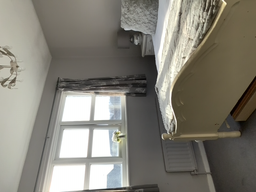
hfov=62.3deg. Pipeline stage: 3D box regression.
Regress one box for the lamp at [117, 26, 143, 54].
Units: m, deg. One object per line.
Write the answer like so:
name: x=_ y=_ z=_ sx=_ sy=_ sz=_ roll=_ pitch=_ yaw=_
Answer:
lamp: x=0.020 y=-0.890 z=3.390 sx=0.310 sy=0.400 sz=0.300 roll=93 pitch=176 yaw=-56

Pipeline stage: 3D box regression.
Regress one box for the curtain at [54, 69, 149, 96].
curtain: x=-0.400 y=-0.220 z=3.410 sx=0.250 sy=1.440 sz=0.340 roll=93 pitch=176 yaw=-58
